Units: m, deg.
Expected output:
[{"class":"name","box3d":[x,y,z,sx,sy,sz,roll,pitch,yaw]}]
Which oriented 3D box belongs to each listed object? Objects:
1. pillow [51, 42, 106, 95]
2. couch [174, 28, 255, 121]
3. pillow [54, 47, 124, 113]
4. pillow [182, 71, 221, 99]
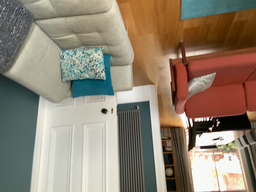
[{"class":"pillow","box3d":[-0.420,-0.240,1.820,0.360,0.290,0.120,-58,162,-11]},{"class":"couch","box3d":[1.380,-0.230,2.500,0.780,1.540,0.770,61,25,-69]},{"class":"pillow","box3d":[-0.350,-0.150,1.940,0.410,0.440,0.180,-53,161,-10]},{"class":"pillow","box3d":[0.860,-0.120,2.540,0.410,0.360,0.160,65,21,-69]}]
